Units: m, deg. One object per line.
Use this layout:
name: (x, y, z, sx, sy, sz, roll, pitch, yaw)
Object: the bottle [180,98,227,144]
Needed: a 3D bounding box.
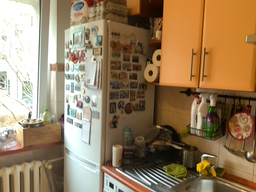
bottle: (0.520, 0.160, 1.470, 0.180, 0.260, 0.230, -3, 9, -41)
